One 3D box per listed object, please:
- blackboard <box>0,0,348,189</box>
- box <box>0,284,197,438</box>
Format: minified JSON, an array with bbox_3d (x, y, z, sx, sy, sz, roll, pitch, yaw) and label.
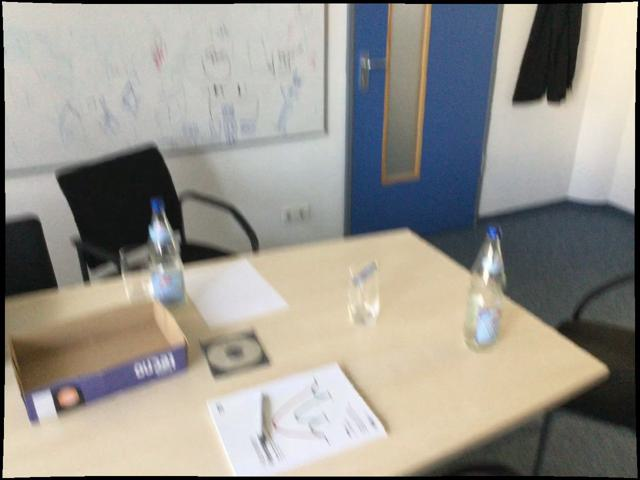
[{"bbox_3d":[-0.889,-0.981,2.220,2.138,1.461,0.150,-12,30,-20],"label":"blackboard"},{"bbox_3d":[-0.490,0.240,1.230,0.390,0.090,0.260,-12,30,-20],"label":"box"}]
